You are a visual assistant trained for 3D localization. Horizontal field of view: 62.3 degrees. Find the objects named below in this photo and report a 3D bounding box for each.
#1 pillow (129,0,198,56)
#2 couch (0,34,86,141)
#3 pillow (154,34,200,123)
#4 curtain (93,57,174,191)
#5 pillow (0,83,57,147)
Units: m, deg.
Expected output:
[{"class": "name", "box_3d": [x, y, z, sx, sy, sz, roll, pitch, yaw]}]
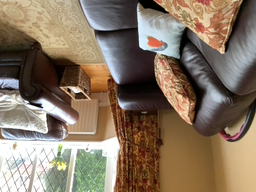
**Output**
[{"class": "pillow", "box_3d": [0.180, -0.400, 1.180, 0.310, 0.140, 0.400, 0, 158, 6]}, {"class": "couch", "box_3d": [-1.220, 0.000, 2.480, 1.060, 0.860, 1.050, -2, 157, 9]}, {"class": "pillow", "box_3d": [0.340, -0.100, 1.550, 0.140, 0.390, 0.540, 24, 155, 19]}, {"class": "curtain", "box_3d": [0.060, 0.890, 2.280, 0.770, 2.650, 0.370, -8, 156, 24]}, {"class": "pillow", "box_3d": [-1.190, 0.200, 2.440, 0.590, 0.460, 0.150, 43, 157, 25]}]
